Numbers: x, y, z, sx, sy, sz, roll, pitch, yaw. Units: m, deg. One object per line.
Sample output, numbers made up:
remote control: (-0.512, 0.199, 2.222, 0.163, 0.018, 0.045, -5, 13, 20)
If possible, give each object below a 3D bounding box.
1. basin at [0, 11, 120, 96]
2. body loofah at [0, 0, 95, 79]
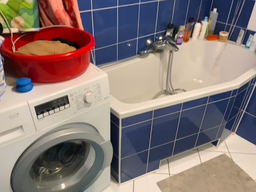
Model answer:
basin: (-0.340, -0.240, 1.010, 0.460, 0.190, 0.390, -21, 41, -31)
body loofah: (-0.380, -0.610, 0.950, 0.410, 1.030, 0.130, -24, 43, -34)
